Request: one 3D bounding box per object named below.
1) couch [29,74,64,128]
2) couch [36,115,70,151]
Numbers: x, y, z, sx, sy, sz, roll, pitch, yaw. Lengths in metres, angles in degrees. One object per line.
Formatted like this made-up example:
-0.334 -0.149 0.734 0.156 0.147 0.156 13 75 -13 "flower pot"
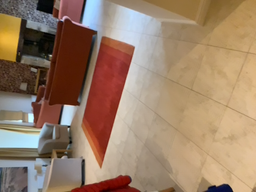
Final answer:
-3.300 0.130 8.380 2.250 0.920 1.200 44 121 56 "couch"
-2.260 1.120 6.330 0.750 0.790 0.710 -59 36 36 "couch"
